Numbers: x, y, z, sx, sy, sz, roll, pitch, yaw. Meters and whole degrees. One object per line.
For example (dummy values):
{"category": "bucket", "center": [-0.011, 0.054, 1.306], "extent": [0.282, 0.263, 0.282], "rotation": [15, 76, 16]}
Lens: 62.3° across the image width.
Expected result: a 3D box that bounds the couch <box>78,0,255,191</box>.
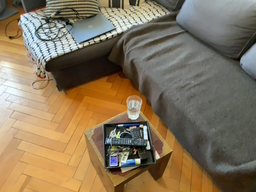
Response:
{"category": "couch", "center": [0.550, -0.420, 1.690], "extent": [1.100, 0.840, 2.400], "rotation": [-22, 54, -20]}
